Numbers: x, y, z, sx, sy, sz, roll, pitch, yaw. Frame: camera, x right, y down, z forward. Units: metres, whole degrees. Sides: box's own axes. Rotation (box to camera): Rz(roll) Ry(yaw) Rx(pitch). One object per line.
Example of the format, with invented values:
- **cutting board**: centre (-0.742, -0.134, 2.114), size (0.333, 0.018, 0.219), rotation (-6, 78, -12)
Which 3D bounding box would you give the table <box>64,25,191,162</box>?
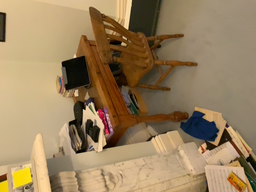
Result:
- **table**: centre (-0.090, -0.050, 2.090), size (0.640, 0.740, 1.060), rotation (-57, 46, 41)
